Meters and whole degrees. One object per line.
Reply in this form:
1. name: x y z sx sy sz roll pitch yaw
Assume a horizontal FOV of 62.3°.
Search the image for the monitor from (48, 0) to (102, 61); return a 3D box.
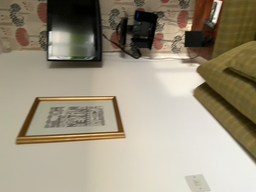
1. monitor: -0.520 -0.710 2.140 0.050 0.500 0.710 120 150 -77
